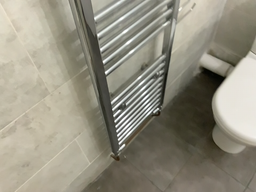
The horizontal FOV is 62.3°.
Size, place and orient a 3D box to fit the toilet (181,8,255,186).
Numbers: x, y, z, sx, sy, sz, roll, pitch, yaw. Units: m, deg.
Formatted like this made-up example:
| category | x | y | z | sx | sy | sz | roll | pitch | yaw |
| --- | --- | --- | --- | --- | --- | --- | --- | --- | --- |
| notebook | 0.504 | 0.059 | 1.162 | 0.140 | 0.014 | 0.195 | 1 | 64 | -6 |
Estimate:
| category | x | y | z | sx | sy | sz | roll | pitch | yaw |
| --- | --- | --- | --- | --- | --- | --- | --- | --- | --- |
| toilet | 0.700 | -0.040 | 1.110 | 0.390 | 0.800 | 0.690 | 34 | 62 | 24 |
